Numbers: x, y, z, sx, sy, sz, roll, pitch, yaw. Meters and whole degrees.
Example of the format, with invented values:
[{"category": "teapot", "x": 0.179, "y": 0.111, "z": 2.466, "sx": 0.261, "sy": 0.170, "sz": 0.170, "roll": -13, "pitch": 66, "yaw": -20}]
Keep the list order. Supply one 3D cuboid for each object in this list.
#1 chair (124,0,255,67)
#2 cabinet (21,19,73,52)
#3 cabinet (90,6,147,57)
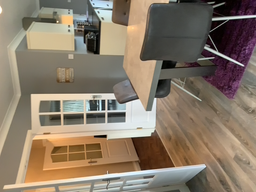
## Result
[{"category": "chair", "x": 0.490, "y": -0.540, "z": 1.680, "sx": 0.530, "sy": 0.900, "sz": 0.440, "roll": -117, "pitch": 30, "yaw": -58}, {"category": "cabinet", "x": -1.520, "y": -1.190, "z": 4.130, "sx": 0.860, "sy": 0.840, "sz": 0.350, "roll": -114, "pitch": 28, "yaw": -55}, {"category": "cabinet", "x": -0.280, "y": -1.380, "z": 4.450, "sx": 1.320, "sy": 0.900, "sz": 0.660, "roll": -114, "pitch": 28, "yaw": -55}]
